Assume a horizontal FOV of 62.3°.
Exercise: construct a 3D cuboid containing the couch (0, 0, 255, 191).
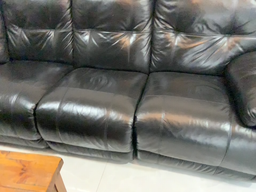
[{"bbox_3d":[-0.640,-0.260,1.540,3.120,0.950,1.020,6,38,10],"label":"couch"}]
